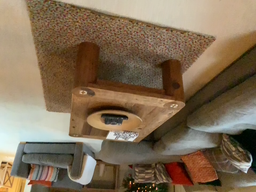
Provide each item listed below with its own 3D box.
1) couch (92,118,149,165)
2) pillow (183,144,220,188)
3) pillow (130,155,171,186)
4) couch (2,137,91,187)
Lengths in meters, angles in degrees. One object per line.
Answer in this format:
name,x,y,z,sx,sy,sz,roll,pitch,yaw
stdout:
couch,-0.160,0.770,3.350,0.610,0.420,1.130,9,153,-14
pillow,0.950,0.930,2.810,0.140,0.400,0.430,11,136,-17
pillow,0.360,1.220,3.500,0.580,0.360,0.110,-15,125,0
couch,-1.500,1.370,4.270,1.270,0.780,1.070,1,154,1
